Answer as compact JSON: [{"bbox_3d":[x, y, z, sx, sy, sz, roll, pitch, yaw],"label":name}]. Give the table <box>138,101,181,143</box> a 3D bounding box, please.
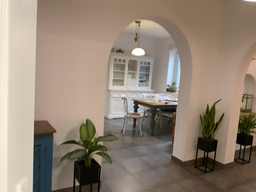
[{"bbox_3d":[0.770,0.600,5.240,0.810,0.850,0.590,0,8,-33],"label":"table"}]
